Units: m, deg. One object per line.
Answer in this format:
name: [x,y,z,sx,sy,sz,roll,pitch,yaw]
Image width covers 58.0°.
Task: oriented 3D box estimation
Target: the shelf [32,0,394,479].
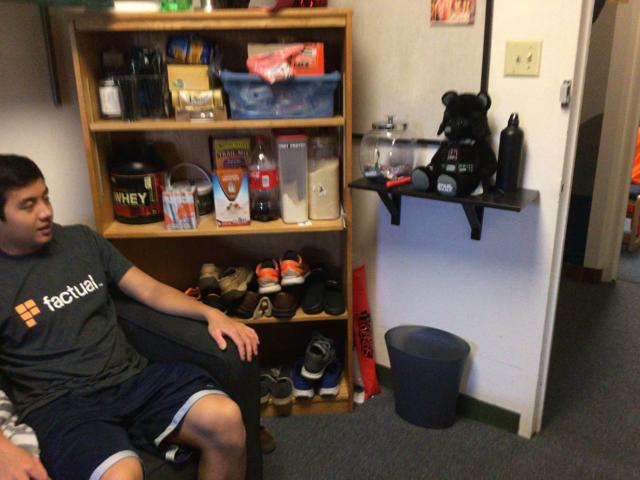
shelf: [-0.320,-0.090,2.160,0.880,1.540,0.800,11,22,34]
